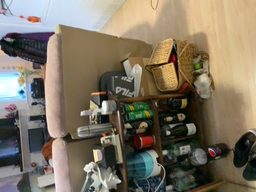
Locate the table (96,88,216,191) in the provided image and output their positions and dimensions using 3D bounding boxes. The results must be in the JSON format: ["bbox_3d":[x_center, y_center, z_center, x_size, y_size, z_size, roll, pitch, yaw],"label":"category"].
[{"bbox_3d":[0.210,0.480,1.480,0.320,0.700,1.010,-11,84,62],"label":"table"}]

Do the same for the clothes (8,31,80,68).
[{"bbox_3d":[-1.430,-0.740,3.600,0.790,1.010,0.430,-2,92,62],"label":"clothes"}]

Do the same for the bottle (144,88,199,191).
[{"bbox_3d":[0.320,0.400,1.560,0.240,0.230,0.880,-9,86,62],"label":"bottle"}]
